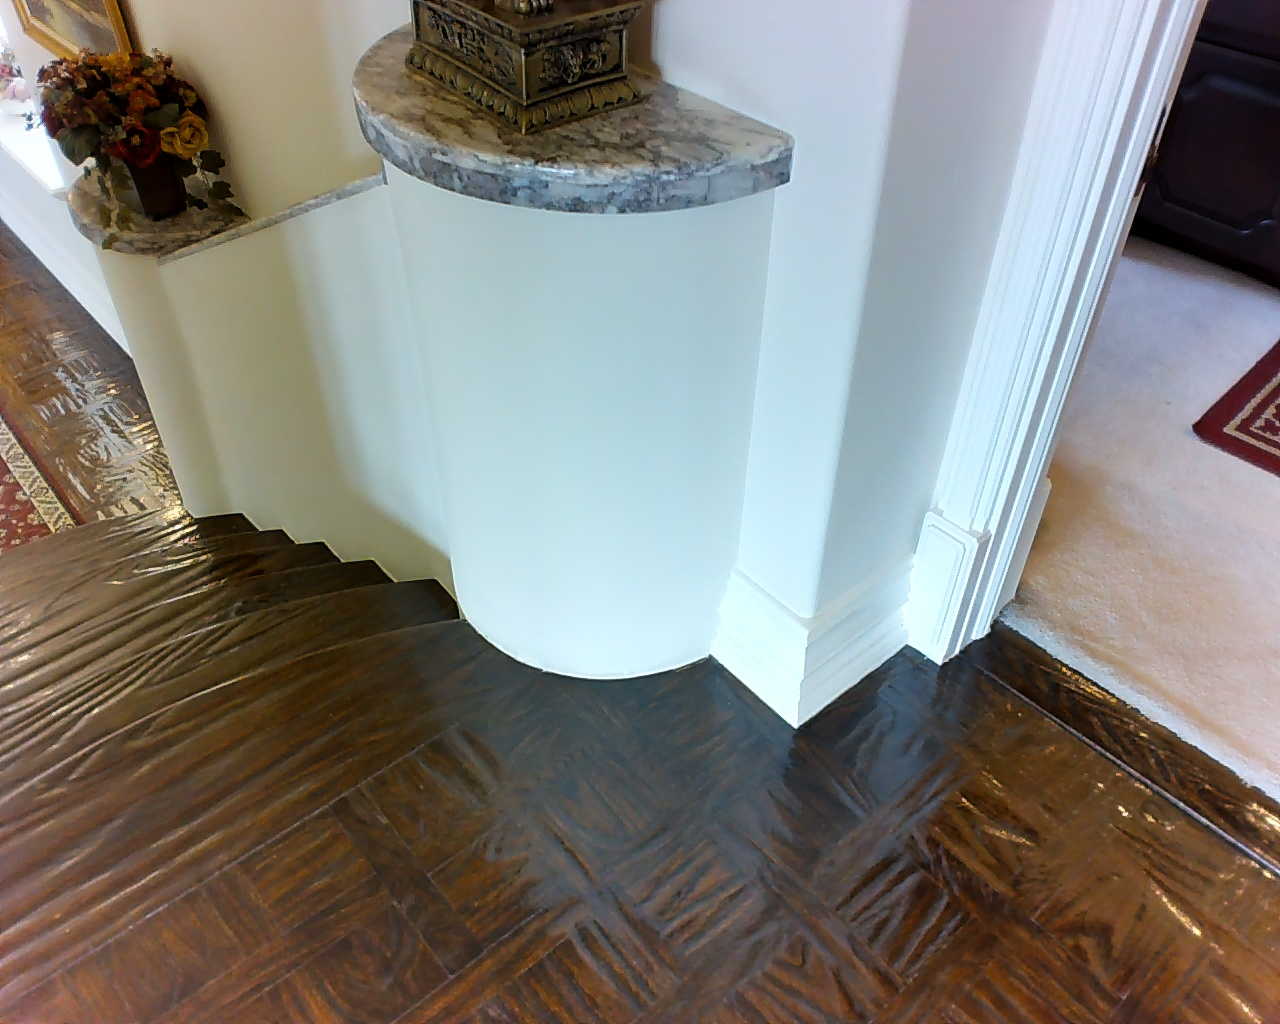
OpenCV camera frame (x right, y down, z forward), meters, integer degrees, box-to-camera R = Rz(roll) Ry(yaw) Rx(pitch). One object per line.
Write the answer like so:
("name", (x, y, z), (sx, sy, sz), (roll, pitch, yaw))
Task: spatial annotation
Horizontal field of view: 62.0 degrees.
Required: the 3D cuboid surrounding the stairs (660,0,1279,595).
("stairs", (0.980, -1.030, 2.680), (1.380, 0.200, 2.150), (-30, 79, -30))
